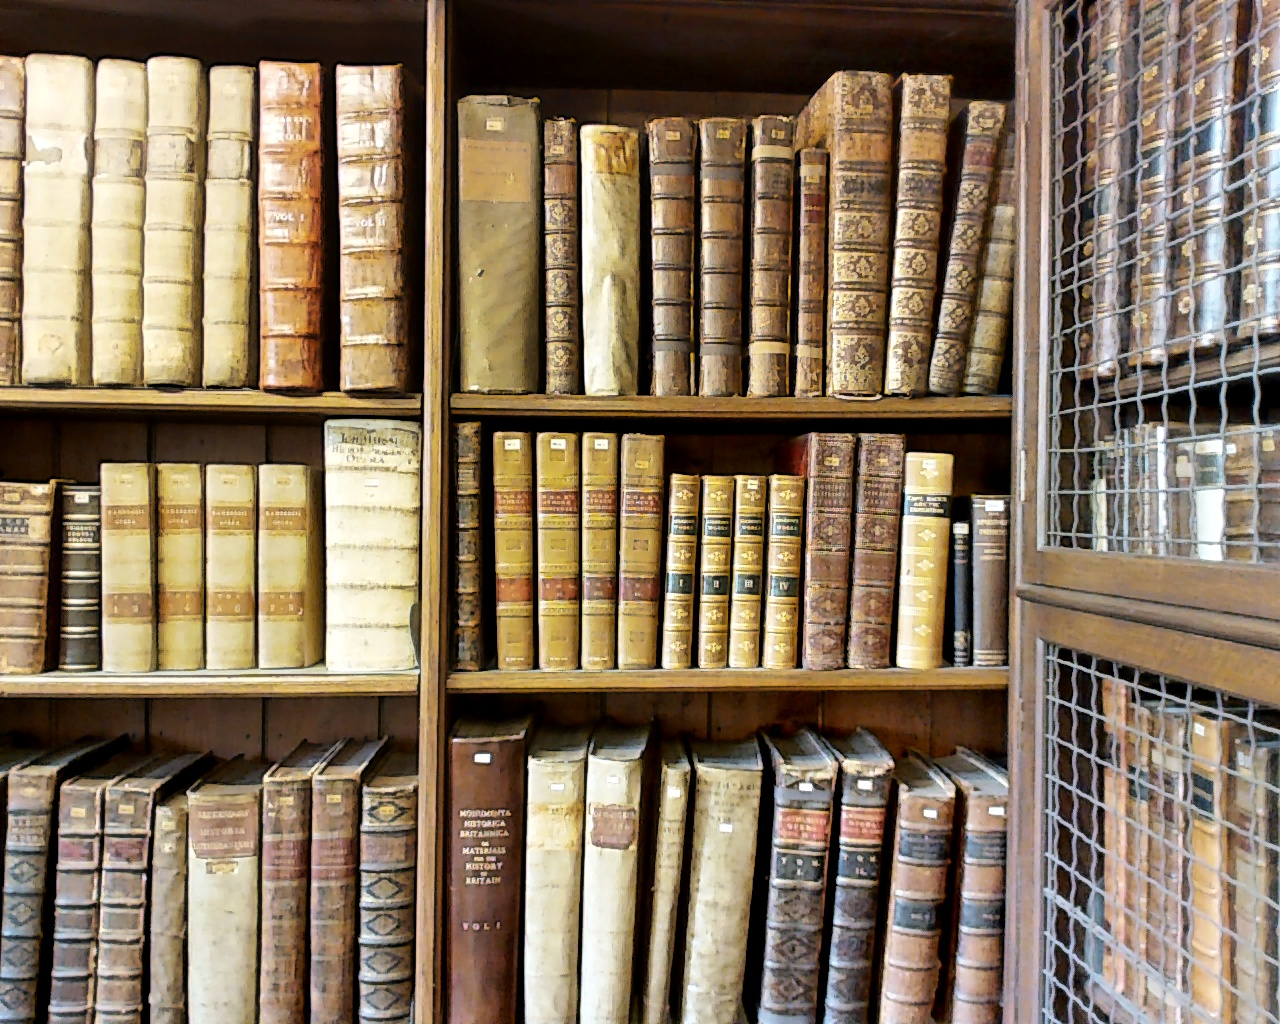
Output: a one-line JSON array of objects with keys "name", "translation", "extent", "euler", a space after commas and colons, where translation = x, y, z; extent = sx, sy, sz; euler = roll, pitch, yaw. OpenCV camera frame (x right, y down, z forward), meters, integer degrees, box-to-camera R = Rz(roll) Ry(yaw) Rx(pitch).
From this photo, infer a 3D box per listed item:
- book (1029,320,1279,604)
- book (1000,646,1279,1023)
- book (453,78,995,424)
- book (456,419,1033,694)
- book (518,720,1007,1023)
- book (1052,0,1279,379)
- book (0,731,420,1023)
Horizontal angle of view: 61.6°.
[{"name": "book", "translation": [0.570, -0.040, 1.000], "extent": [0.120, 0.230, 0.710], "euler": [1, 0, -3]}, {"name": "book", "translation": [0.560, 0.410, 0.990], "extent": [0.140, 0.480, 0.740], "euler": [1, 0, -5]}, {"name": "book", "translation": [0.110, -0.330, 1.410], "extent": [0.690, 0.410, 0.100], "euler": [1, 0, -5]}, {"name": "book", "translation": [0.140, 0.060, 1.420], "extent": [0.750, 0.350, 0.060], "euler": [1, 0, -3]}, {"name": "book", "translation": [0.160, 0.500, 1.410], "extent": [0.630, 0.440, 0.060], "euler": [1, 0, -3]}, {"name": "book", "translation": [0.580, -0.350, 1.010], "extent": [0.100, 0.390, 0.610], "euler": [1, 2, -4]}, {"name": "book", "translation": [-0.700, 0.480, 1.360], "extent": [0.820, 0.390, 0.070], "euler": [1, 0, -3]}]
